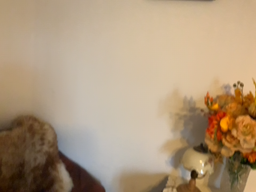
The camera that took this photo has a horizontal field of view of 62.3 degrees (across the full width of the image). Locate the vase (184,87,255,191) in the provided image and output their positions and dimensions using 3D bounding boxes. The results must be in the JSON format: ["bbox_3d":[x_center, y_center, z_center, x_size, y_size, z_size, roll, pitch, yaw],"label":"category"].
[{"bbox_3d":[0.570,0.340,1.120,0.430,0.660,0.370,12,14,17],"label":"vase"}]
